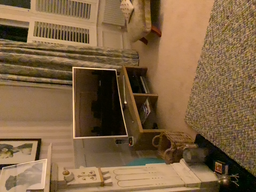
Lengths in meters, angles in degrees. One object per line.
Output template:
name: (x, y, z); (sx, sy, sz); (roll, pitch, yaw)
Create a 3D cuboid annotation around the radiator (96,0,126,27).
radiator: (-0.270, -1.820, 3.800); (0.090, 0.500, 1.050); (-133, 49, -65)

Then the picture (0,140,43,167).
picture: (-1.350, 0.650, 2.440); (0.480, 0.660, 0.060); (-138, 54, -66)
